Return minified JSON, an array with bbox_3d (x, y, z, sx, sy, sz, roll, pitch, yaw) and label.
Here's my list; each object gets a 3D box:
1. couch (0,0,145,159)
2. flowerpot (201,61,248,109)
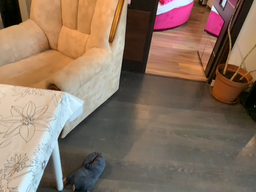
[{"bbox_3d":[-0.500,-0.340,1.580,0.800,0.950,0.940,26,42,20],"label":"couch"},{"bbox_3d":[0.980,-0.120,2.170,0.270,0.300,0.320,30,43,24],"label":"flowerpot"}]
